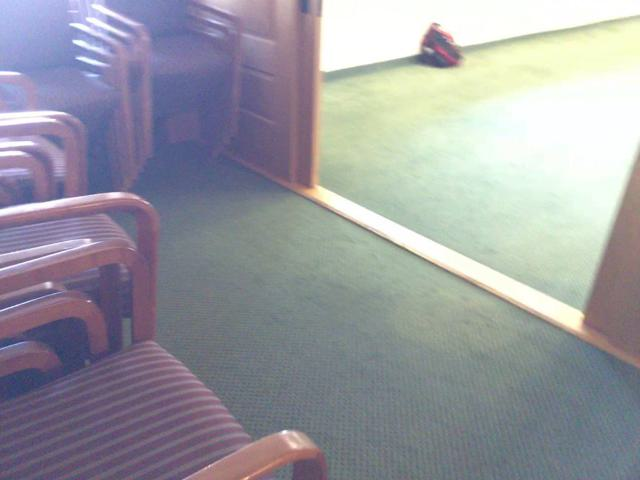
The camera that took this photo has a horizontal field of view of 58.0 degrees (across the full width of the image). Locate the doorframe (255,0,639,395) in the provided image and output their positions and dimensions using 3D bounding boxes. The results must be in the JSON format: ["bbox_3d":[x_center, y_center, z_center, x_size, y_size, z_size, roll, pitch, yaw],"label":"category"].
[{"bbox_3d":[0.730,-0.300,1.920,0.280,1.220,2.800,-23,36,-35],"label":"doorframe"}]
